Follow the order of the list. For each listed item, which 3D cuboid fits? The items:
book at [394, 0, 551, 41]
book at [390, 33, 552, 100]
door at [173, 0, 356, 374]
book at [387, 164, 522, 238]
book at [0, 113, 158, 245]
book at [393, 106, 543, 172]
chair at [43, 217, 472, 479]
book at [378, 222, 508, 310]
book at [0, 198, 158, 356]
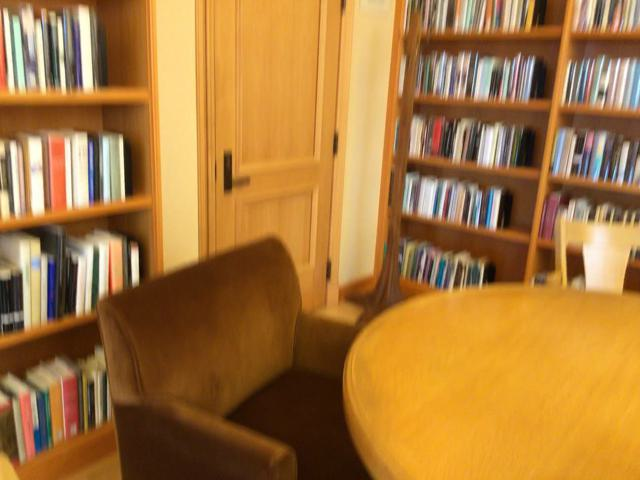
[{"bbox_3d":[0.840,-1.300,3.230,0.760,0.300,0.360,11,18,38],"label":"book"},{"bbox_3d":[0.850,-0.980,3.330,0.790,0.330,0.400,11,18,38],"label":"book"},{"bbox_3d":[-0.230,-0.790,2.840,0.210,2.690,1.030,10,12,38],"label":"door"},{"bbox_3d":[0.810,-0.260,3.540,0.690,0.320,0.390,11,18,38],"label":"book"},{"bbox_3d":[-0.930,-0.190,1.740,0.210,0.350,0.870,11,18,38],"label":"book"},{"bbox_3d":[0.860,-0.620,3.430,0.760,0.330,0.370,11,18,38],"label":"book"},{"bbox_3d":[-0.100,0.500,1.680,0.800,0.910,0.880,8,16,28],"label":"chair"},{"bbox_3d":[0.770,0.140,3.680,0.690,0.360,0.390,11,18,38],"label":"book"},{"bbox_3d":[-1.000,0.120,1.860,0.330,0.360,0.870,11,18,38],"label":"book"}]
